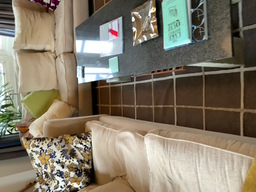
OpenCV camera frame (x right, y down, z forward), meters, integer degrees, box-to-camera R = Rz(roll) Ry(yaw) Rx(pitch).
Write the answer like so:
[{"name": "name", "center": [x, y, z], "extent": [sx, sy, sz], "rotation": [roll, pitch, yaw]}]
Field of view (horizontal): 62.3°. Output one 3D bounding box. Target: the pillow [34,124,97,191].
[{"name": "pillow", "center": [-0.510, 0.570, 1.770], "extent": [0.170, 0.440, 0.630], "rotation": [10, 91, 29]}]

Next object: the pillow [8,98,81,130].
[{"name": "pillow", "center": [-0.880, 0.200, 2.320], "extent": [0.500, 0.530, 0.230], "rotation": [9, 86, 16]}]

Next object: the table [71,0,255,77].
[{"name": "table", "center": [0.100, -0.440, 1.440], "extent": [1.420, 0.450, 0.520], "rotation": [1, 93, 54]}]
